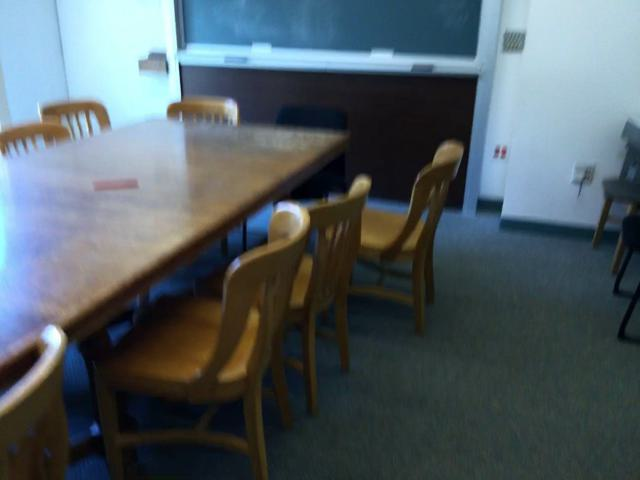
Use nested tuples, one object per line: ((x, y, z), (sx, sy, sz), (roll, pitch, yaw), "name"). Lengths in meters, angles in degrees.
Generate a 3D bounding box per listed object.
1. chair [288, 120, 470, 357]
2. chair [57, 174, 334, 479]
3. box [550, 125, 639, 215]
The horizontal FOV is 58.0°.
((0.270, -0.040, 2.630), (0.650, 0.870, 0.520), (9, 21, 14), "chair")
((-0.340, 0.310, 1.780), (0.580, 0.860, 0.540), (9, 21, 14), "chair")
((1.620, -0.410, 3.310), (0.470, 0.380, 0.430), (9, 21, 14), "box")
